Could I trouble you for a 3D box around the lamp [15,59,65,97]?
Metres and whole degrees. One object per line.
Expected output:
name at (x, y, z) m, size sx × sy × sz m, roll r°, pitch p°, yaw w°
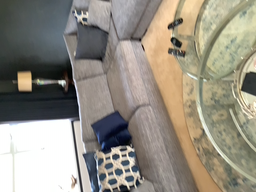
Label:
lamp at (-1.890, -0.380, 4.550) m, size 0.560 × 0.910 × 0.560 m, roll -56°, pitch 43°, yaw 49°
